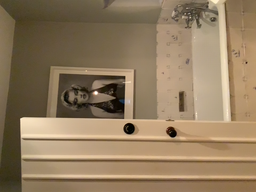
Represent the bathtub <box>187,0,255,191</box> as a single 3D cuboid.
[{"bbox_3d":[0.950,-0.050,1.960,0.710,0.540,1.660,113,159,-81],"label":"bathtub"}]
